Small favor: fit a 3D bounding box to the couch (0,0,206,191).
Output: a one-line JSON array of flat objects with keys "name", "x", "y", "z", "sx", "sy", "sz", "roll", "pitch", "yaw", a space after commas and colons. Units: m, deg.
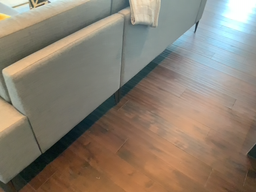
[{"name": "couch", "x": -0.200, "y": -0.610, "z": 1.750, "sx": 0.910, "sy": 0.830, "sz": 2.500, "roll": 28, "pitch": 48, "yaw": 21}]
